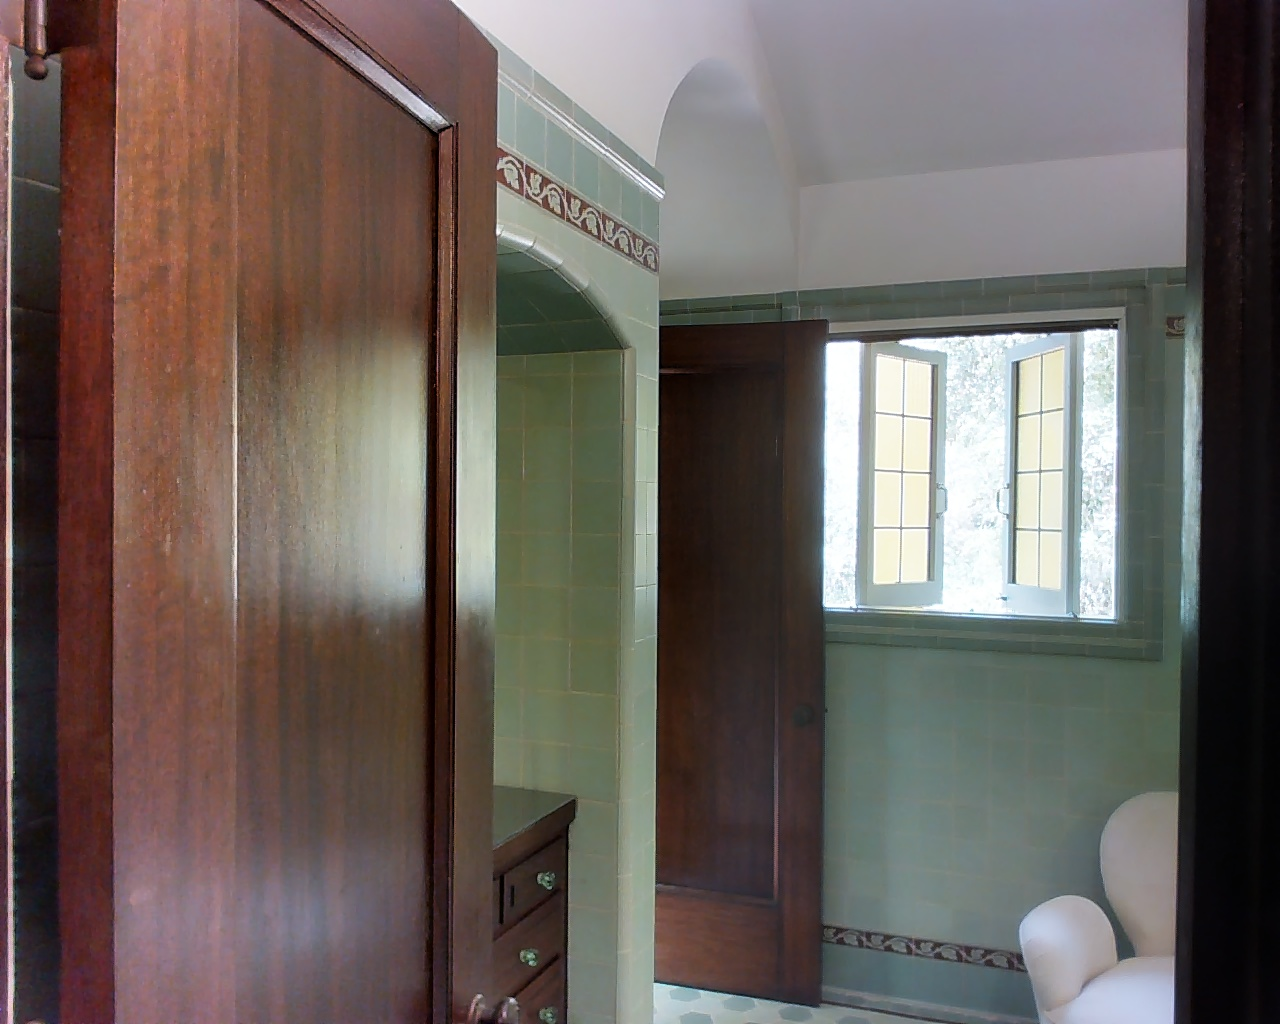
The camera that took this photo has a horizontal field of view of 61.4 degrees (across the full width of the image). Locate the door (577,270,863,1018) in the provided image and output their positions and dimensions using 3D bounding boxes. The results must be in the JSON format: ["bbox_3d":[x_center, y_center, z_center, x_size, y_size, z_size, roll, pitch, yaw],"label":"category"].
[{"bbox_3d":[0.240,0.400,3.460,0.890,2.290,0.060,1,1,18],"label":"door"}]

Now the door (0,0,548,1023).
[{"bbox_3d":[-0.270,0.460,1.050,0.080,2.180,0.790,1,1,14],"label":"door"}]
